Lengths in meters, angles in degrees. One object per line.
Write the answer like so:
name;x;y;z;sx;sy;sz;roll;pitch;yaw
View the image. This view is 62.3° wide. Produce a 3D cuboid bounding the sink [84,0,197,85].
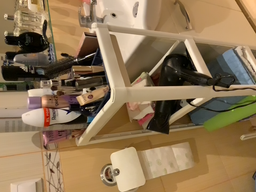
sink;-0.020;-0.400;0.870;0.430;0.140;0.570;-47;52;51
